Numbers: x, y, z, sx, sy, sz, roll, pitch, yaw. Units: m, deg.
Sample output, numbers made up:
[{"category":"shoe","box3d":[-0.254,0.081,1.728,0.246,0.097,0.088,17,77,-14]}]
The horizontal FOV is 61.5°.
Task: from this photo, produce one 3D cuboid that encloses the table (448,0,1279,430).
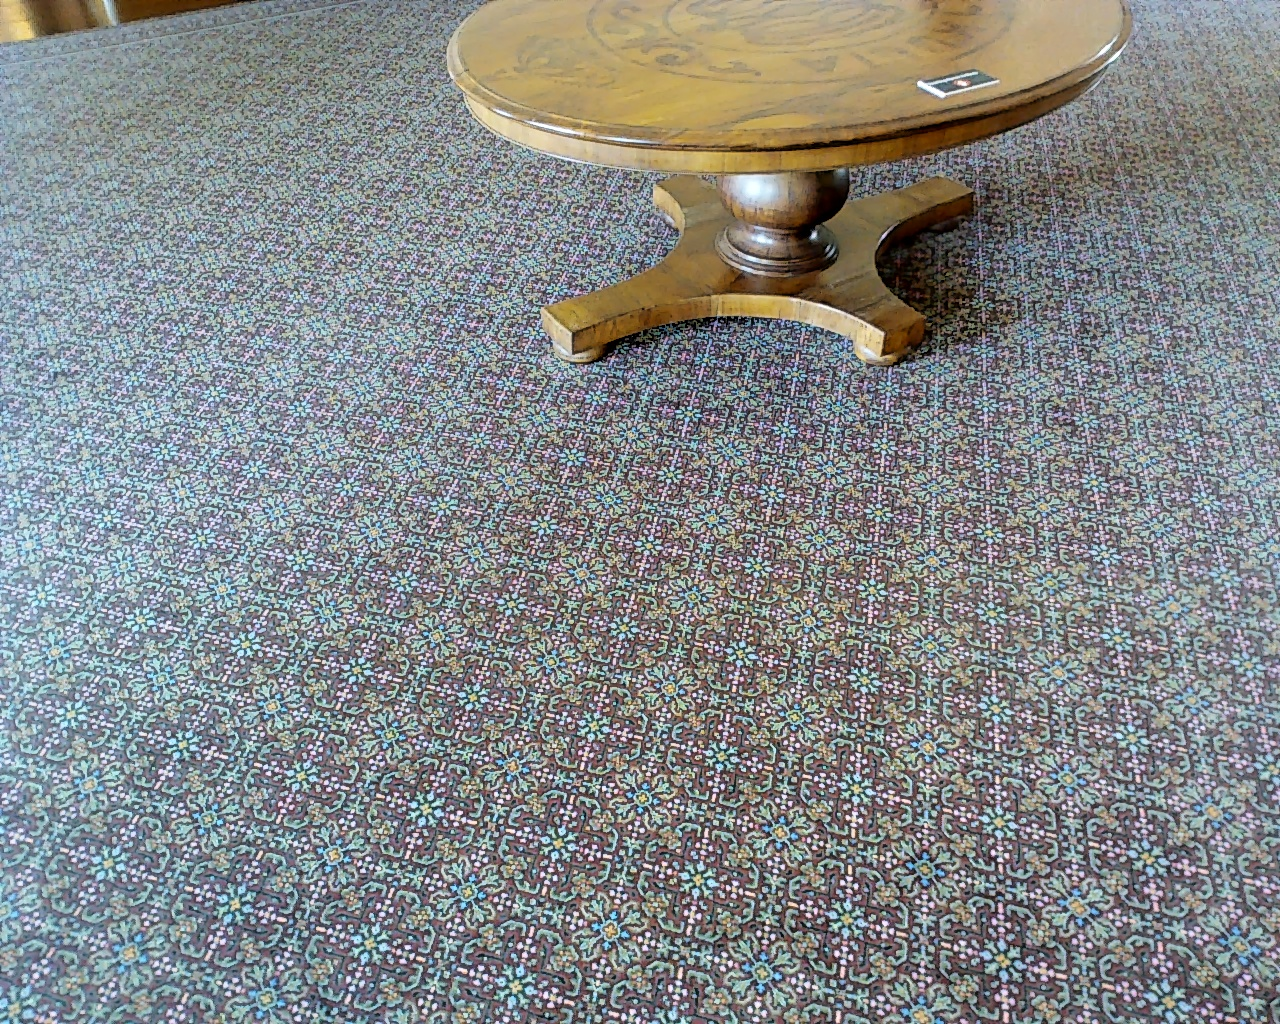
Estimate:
[{"category":"table","box3d":[0.390,-0.980,2.860,1.700,0.710,1.340,-5,42,-6]}]
